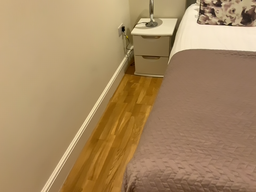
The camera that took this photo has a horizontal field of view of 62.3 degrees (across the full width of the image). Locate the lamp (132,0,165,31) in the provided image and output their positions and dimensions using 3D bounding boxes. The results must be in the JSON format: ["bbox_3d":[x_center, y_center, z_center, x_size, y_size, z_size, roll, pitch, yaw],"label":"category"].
[{"bbox_3d":[0.210,-0.970,2.090,0.260,0.530,0.350,7,40,15],"label":"lamp"}]
